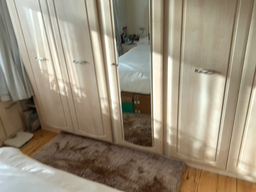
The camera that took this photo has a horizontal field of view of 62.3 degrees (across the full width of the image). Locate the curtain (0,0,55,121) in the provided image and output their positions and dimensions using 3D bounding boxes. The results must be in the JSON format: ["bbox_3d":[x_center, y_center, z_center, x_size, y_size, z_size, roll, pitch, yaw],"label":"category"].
[{"bbox_3d":[-1.250,-0.750,2.300,0.220,2.100,0.430,8,28,23],"label":"curtain"}]
